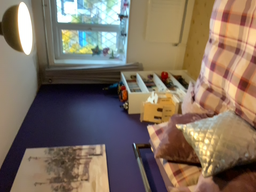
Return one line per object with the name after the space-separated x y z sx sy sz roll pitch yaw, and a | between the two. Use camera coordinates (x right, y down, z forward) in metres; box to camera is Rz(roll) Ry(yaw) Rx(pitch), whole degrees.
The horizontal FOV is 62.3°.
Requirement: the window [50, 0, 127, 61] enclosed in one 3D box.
-0.580 -1.310 3.210 0.090 1.120 1.560 -113 25 -64 | window

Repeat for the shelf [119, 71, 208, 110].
0.440 -0.110 3.040 0.810 1.020 0.270 -116 27 -66 | shelf
